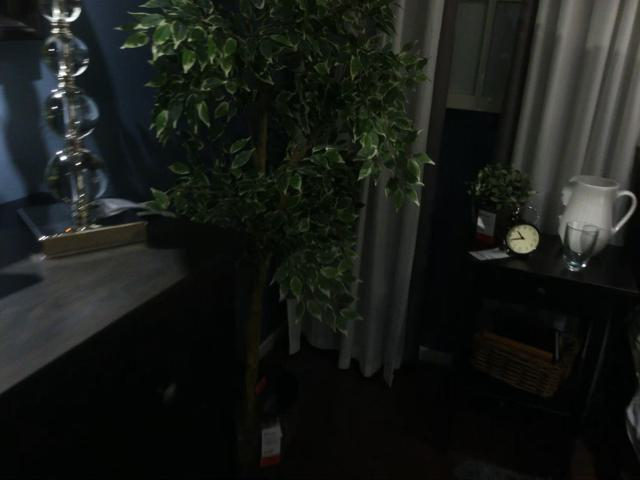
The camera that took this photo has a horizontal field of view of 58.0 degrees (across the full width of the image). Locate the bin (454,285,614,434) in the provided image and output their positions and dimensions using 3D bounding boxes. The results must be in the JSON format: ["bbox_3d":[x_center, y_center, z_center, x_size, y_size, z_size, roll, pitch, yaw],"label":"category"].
[{"bbox_3d":[0.670,0.350,1.810,0.400,0.250,0.320,9,23,28],"label":"bin"}]

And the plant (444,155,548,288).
[{"bbox_3d":[0.510,-0.070,1.660,0.190,0.270,0.350,9,23,28],"label":"plant"}]

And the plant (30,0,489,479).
[{"bbox_3d":[-0.040,-0.090,1.540,0.670,1.630,0.930,9,23,28],"label":"plant"}]
